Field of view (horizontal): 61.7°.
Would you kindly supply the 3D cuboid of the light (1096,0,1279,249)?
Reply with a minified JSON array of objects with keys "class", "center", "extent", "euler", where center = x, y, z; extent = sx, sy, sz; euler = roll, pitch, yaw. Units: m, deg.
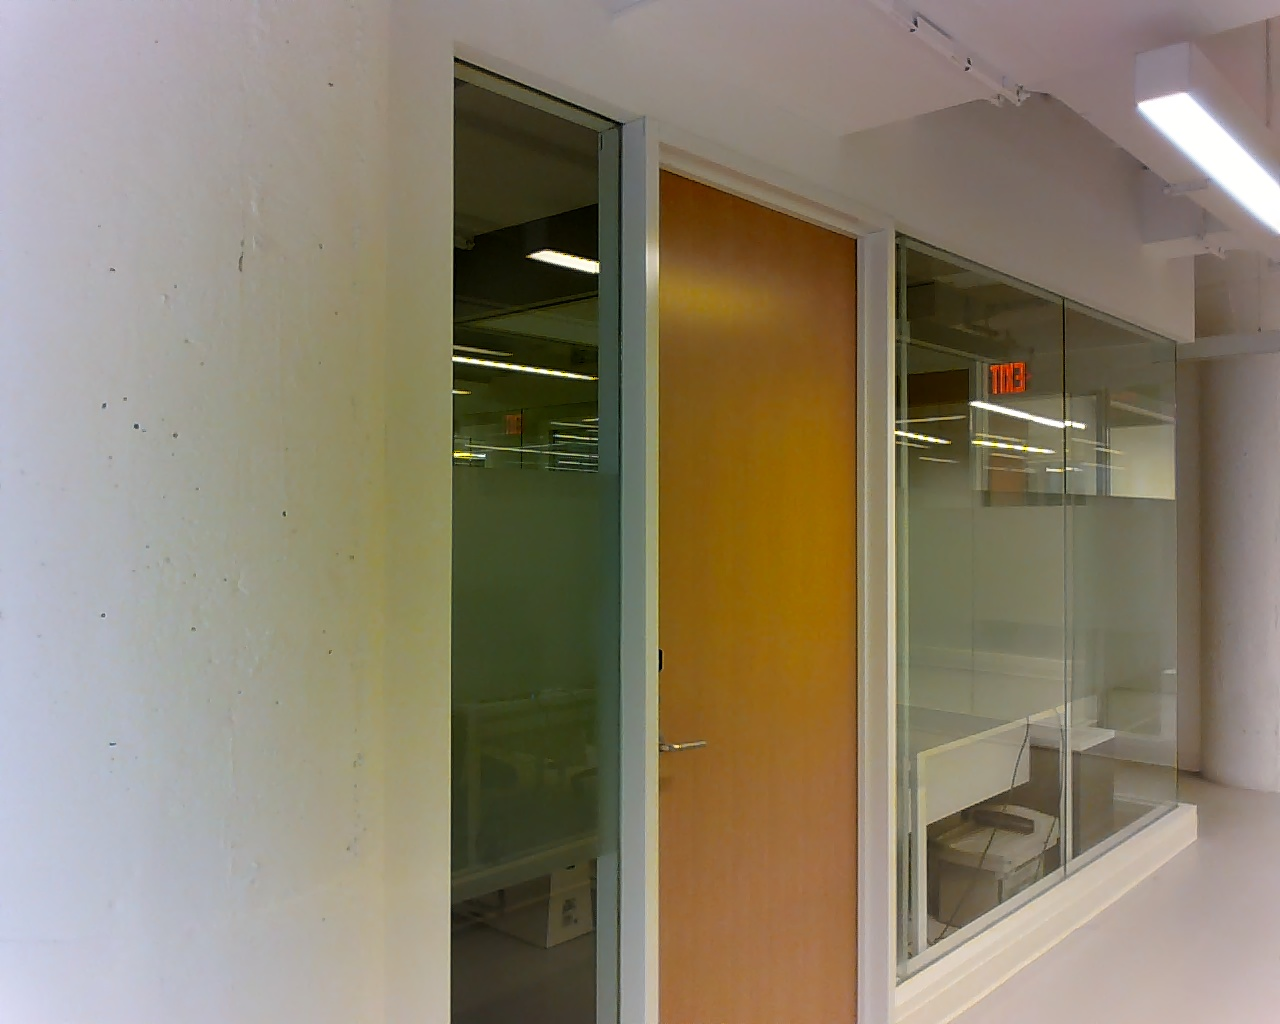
[{"class":"light","center":[1.370,-0.840,2.490],"extent":[0.180,0.190,1.240],"euler":[-1,-1,42]}]
